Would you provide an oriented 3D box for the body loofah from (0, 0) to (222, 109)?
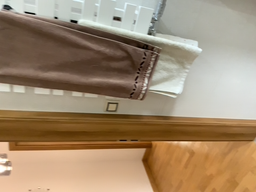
[{"bbox_3d":[-0.110,-0.200,1.000,0.150,1.010,0.490,-115,35,-52],"label":"body loofah"}]
